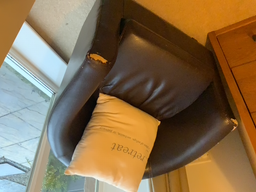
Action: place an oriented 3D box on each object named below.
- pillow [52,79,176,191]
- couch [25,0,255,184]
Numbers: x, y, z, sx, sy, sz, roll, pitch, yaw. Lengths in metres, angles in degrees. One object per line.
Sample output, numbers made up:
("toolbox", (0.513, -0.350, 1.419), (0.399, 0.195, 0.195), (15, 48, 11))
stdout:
("pillow", (-0.030, 0.220, 0.970), (0.440, 0.390, 0.110), (42, 153, -21))
("couch", (0.040, -0.050, 1.040), (0.720, 0.680, 0.570), (23, 136, -28))
